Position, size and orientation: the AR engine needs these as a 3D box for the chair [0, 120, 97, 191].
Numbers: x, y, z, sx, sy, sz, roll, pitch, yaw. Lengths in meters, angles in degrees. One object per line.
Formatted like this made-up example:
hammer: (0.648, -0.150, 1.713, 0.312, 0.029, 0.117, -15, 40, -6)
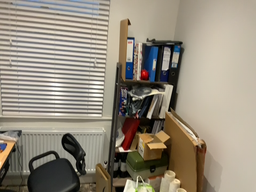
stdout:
chair: (-0.730, 0.710, 1.670, 0.650, 0.760, 0.690, -6, 19, -40)
